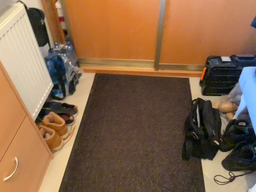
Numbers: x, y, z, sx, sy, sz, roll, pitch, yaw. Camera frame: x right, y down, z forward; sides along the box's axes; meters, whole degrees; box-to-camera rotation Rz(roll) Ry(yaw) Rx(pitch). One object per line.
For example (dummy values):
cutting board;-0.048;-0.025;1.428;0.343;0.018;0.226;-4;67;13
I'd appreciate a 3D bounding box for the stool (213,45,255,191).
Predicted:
stool;0.830;0.150;1.210;0.430;0.470;0.820;5;47;6
